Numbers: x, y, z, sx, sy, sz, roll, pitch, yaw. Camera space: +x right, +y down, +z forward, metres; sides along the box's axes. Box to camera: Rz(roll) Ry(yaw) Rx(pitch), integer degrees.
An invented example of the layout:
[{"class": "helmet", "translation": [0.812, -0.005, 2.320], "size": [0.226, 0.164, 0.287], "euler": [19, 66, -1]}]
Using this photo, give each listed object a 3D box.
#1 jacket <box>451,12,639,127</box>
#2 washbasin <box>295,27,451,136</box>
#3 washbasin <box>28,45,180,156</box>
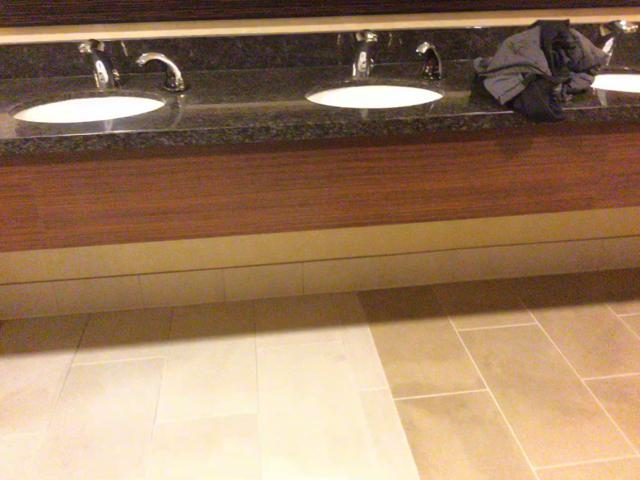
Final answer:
[{"class": "jacket", "translation": [0.580, -0.440, 1.460], "size": [0.380, 0.220, 0.340], "euler": [0, 26, -5]}, {"class": "washbasin", "translation": [0.130, -0.460, 1.660], "size": [0.390, 0.250, 0.270], "euler": [0, 26, -5]}, {"class": "washbasin", "translation": [-0.580, -0.390, 1.610], "size": [0.330, 0.260, 0.200], "euler": [0, 26, -5]}]
